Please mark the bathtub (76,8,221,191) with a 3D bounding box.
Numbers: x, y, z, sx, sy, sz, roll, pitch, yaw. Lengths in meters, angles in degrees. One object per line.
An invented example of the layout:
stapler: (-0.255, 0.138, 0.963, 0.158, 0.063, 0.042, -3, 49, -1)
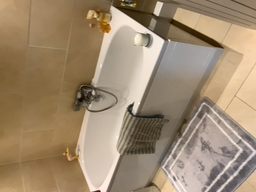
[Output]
bathtub: (0.030, 0.160, 2.020, 0.730, 0.570, 1.640, 50, 131, 43)
